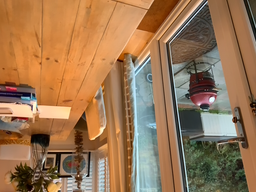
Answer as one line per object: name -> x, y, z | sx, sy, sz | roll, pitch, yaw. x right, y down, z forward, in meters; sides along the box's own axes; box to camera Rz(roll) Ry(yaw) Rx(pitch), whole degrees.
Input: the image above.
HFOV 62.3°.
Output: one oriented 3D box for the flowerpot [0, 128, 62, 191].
flowerpot -> -0.940, 0.660, 2.110 | 0.480, 0.620, 0.230 | 5, 158, -21
